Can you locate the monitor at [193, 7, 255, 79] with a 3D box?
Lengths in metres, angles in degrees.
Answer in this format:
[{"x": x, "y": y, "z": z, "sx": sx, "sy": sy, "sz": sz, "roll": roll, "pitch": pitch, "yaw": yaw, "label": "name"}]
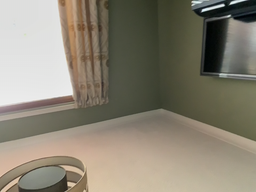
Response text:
[{"x": 0.890, "y": -0.430, "z": 1.770, "sx": 0.030, "sy": 0.530, "sz": 0.900, "roll": -5, "pitch": -167, "yaw": -25, "label": "monitor"}]
